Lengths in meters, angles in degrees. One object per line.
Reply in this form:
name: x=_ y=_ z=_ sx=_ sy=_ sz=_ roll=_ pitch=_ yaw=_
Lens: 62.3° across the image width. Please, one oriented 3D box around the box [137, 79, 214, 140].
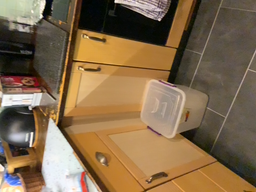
box: x=0.300 y=0.070 z=1.370 sx=0.270 sy=0.330 sz=0.270 roll=35 pitch=116 yaw=44
